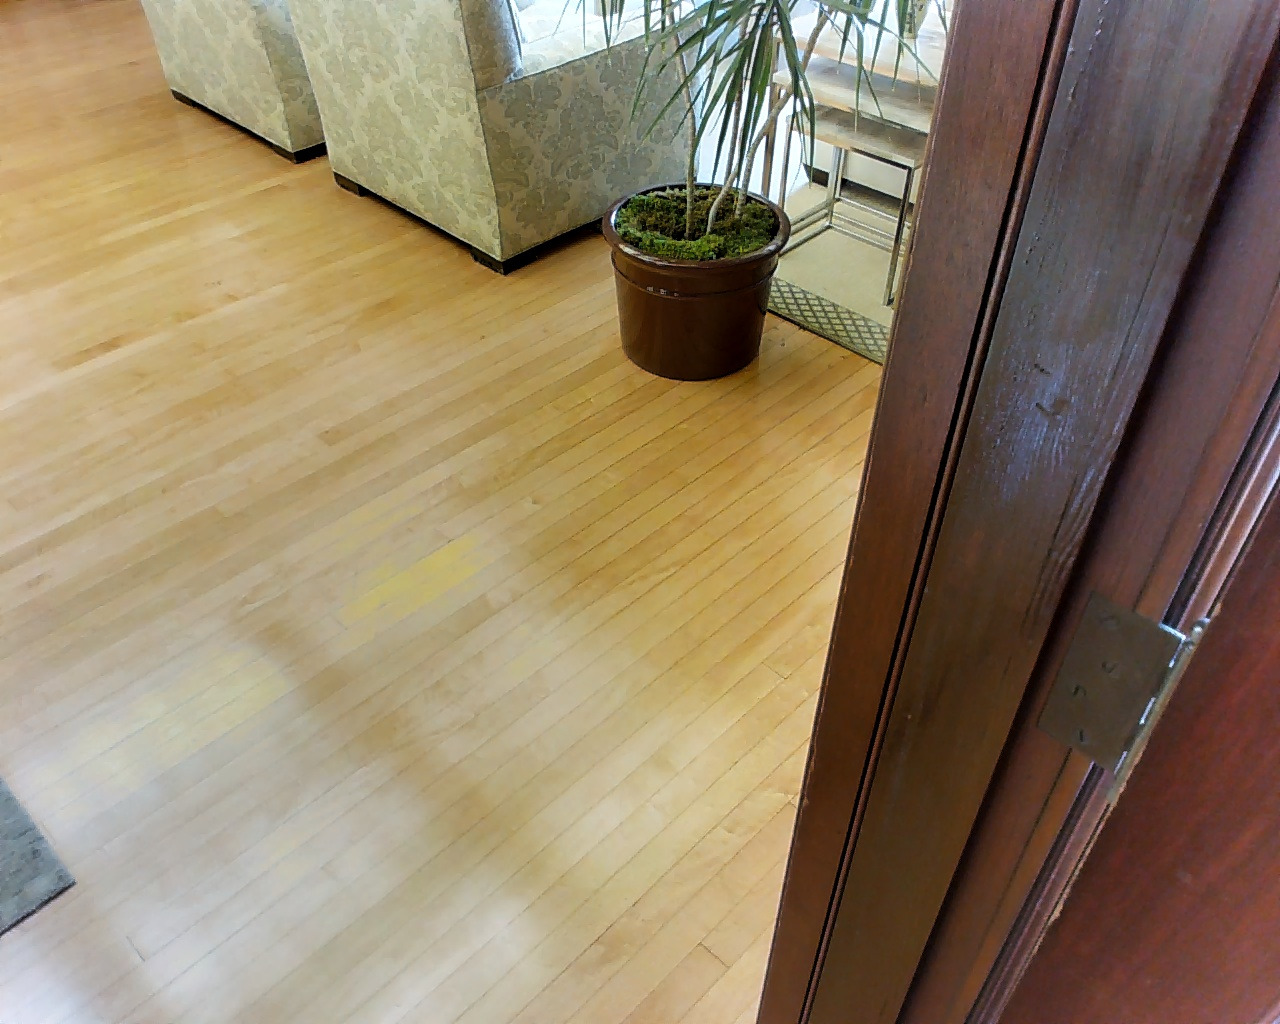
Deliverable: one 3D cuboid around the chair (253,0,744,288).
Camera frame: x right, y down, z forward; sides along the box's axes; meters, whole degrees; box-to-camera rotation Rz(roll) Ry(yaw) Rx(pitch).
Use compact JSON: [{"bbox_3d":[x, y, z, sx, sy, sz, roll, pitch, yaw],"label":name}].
[{"bbox_3d":[-0.430,-1.480,3.340,1.060,0.920,1.050,33,50,31],"label":"chair"}]
